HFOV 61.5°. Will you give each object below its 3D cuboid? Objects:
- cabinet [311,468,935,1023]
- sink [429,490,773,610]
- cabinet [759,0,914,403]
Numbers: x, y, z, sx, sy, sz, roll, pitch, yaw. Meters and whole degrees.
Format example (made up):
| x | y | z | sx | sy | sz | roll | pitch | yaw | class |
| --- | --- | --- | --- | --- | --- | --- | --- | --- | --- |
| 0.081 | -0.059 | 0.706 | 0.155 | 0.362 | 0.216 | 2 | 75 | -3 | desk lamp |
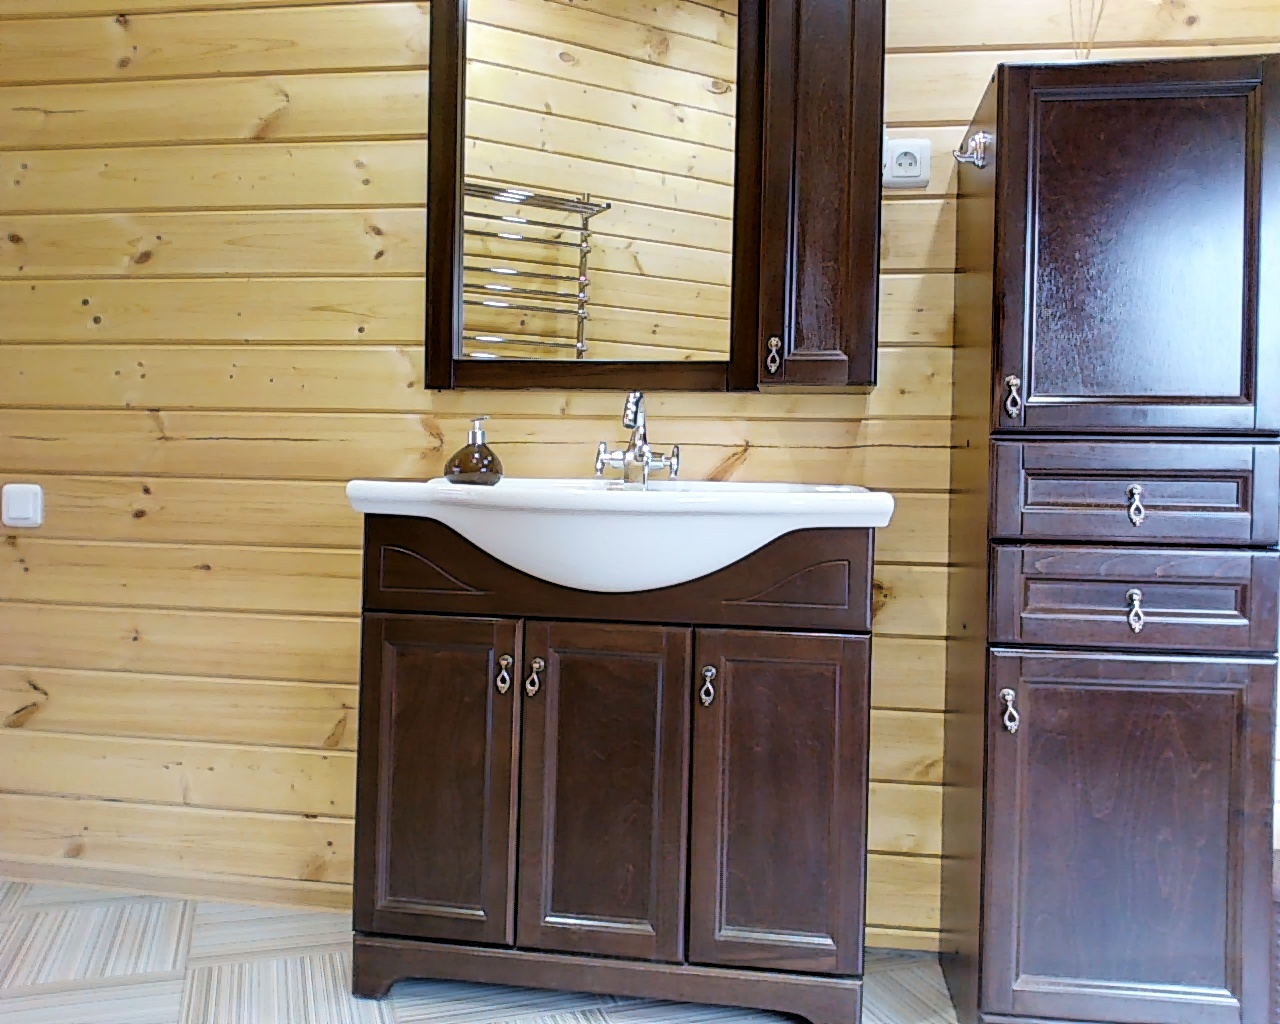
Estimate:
| x | y | z | sx | sy | sz | roll | pitch | yaw | class |
| --- | --- | --- | --- | --- | --- | --- | --- | --- | --- |
| -0.010 | 0.380 | 1.840 | 0.910 | 0.880 | 0.520 | 1 | 1 | 8 | cabinet |
| -0.040 | 0.050 | 1.760 | 0.500 | 0.160 | 0.380 | 1 | 1 | 8 | sink |
| 0.350 | -0.720 | 1.920 | 0.240 | 1.030 | 0.210 | 1 | 1 | 8 | cabinet |
